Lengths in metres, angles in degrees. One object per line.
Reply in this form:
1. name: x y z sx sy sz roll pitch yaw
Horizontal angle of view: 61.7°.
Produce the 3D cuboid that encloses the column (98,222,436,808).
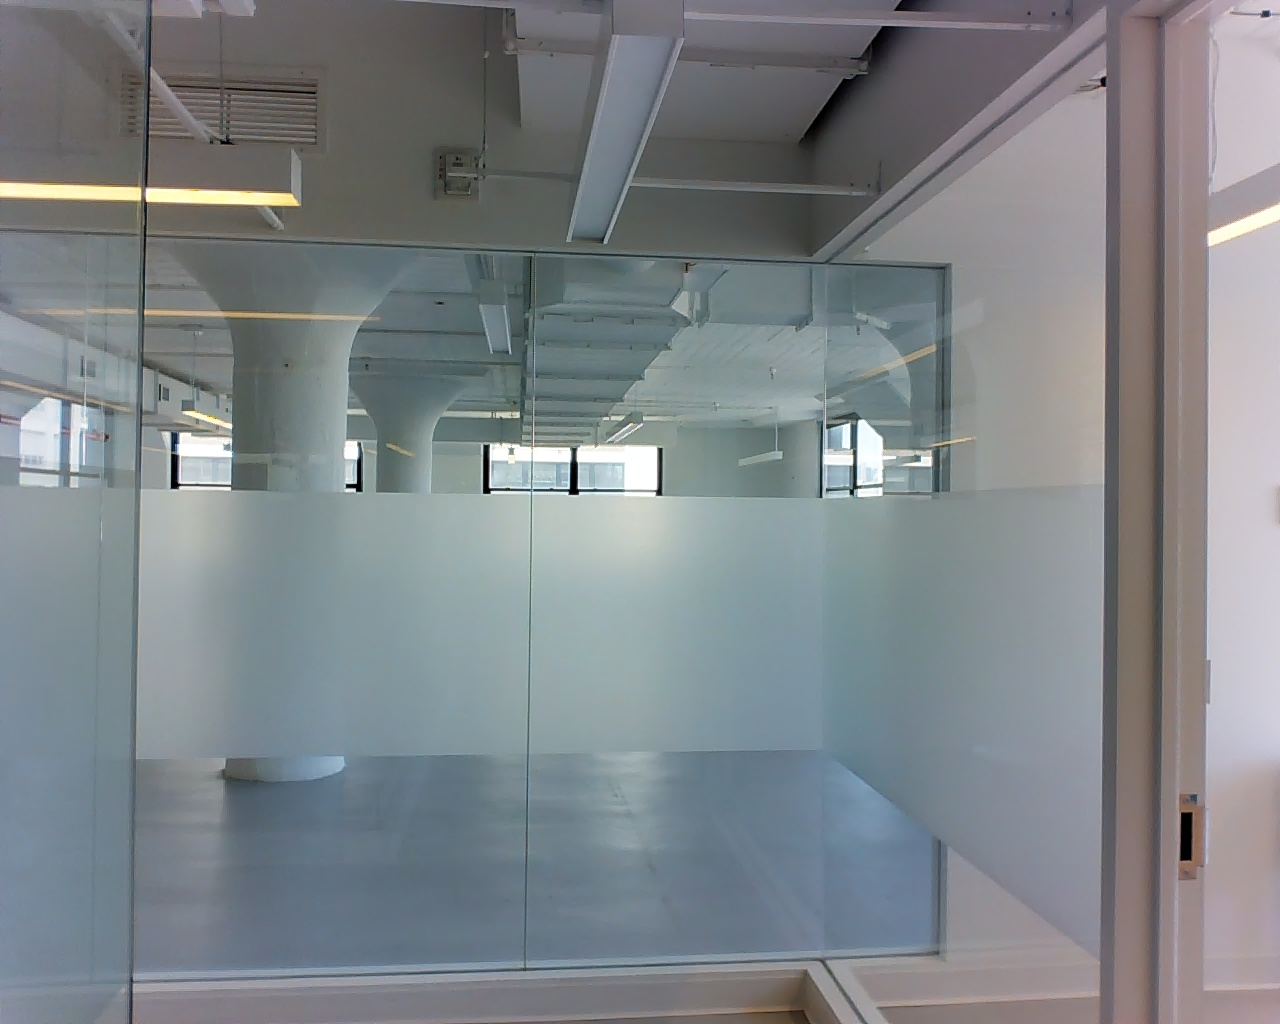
1. column: -1.980 0.030 6.030 1.450 2.891 1.380 1 -1 -5
